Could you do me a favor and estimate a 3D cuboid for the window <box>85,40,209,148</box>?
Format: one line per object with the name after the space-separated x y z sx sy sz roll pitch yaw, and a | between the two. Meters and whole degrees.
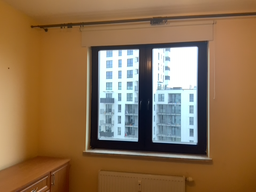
0.230 -0.030 2.720 1.440 1.230 0.430 1 -1 9 | window
